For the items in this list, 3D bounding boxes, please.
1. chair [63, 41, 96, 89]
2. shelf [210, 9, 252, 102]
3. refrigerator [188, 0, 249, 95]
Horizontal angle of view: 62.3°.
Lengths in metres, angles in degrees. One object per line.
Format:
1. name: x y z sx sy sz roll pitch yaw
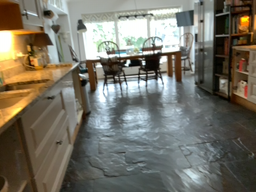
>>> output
1. chair: -1.250 -0.850 5.630 0.620 1.140 0.570 -7 16 -5
2. shelf: 1.690 -0.660 3.560 0.390 1.420 0.470 -6 16 -4
3. refrigerator: 1.710 -1.000 4.200 0.690 1.710 0.940 -6 16 -4
